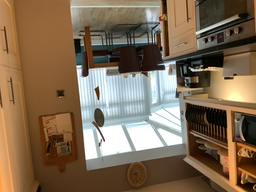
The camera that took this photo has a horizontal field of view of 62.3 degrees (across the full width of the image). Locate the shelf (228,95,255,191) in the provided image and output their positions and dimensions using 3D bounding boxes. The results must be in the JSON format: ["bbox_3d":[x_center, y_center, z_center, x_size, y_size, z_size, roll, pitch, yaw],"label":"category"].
[{"bbox_3d":[1.130,0.440,1.650,0.400,0.850,0.470,-6,-175,-14],"label":"shelf"}]

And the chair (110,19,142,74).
[{"bbox_3d":[-0.060,-0.930,4.150,0.440,0.930,0.630,-6,-175,-12],"label":"chair"}]

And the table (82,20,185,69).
[{"bbox_3d":[0.070,-1.050,4.470,1.950,0.770,0.940,-6,-175,-12],"label":"table"}]

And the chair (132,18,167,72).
[{"bbox_3d":[0.410,-0.980,4.210,0.480,0.930,0.640,-6,-175,-10],"label":"chair"}]
